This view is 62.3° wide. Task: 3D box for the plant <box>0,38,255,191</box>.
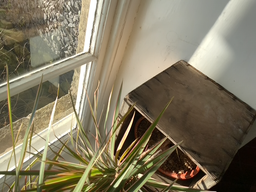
[{"bbox_3d":[-0.030,0.190,0.430,0.290,0.590,0.350,44,140,14],"label":"plant"}]
